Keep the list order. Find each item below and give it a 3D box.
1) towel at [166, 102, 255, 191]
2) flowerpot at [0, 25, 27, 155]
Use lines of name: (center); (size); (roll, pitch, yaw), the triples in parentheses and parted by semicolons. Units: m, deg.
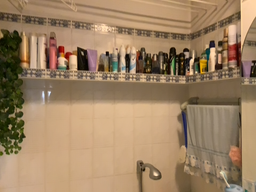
towel: (0.490, 0.300, 1.380); (0.170, 0.520, 0.600); (1, -1, -23)
flowerpot: (-0.670, -0.030, 1.160); (0.160, 0.650, 0.220); (1, -1, -15)
